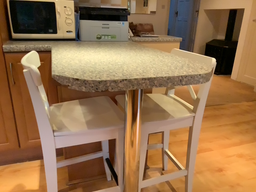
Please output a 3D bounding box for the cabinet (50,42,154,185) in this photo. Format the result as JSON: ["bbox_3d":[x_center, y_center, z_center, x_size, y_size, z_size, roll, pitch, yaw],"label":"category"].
[{"bbox_3d":[-0.190,0.100,1.520,0.610,0.910,0.300,-6,22,-20],"label":"cabinet"}]
